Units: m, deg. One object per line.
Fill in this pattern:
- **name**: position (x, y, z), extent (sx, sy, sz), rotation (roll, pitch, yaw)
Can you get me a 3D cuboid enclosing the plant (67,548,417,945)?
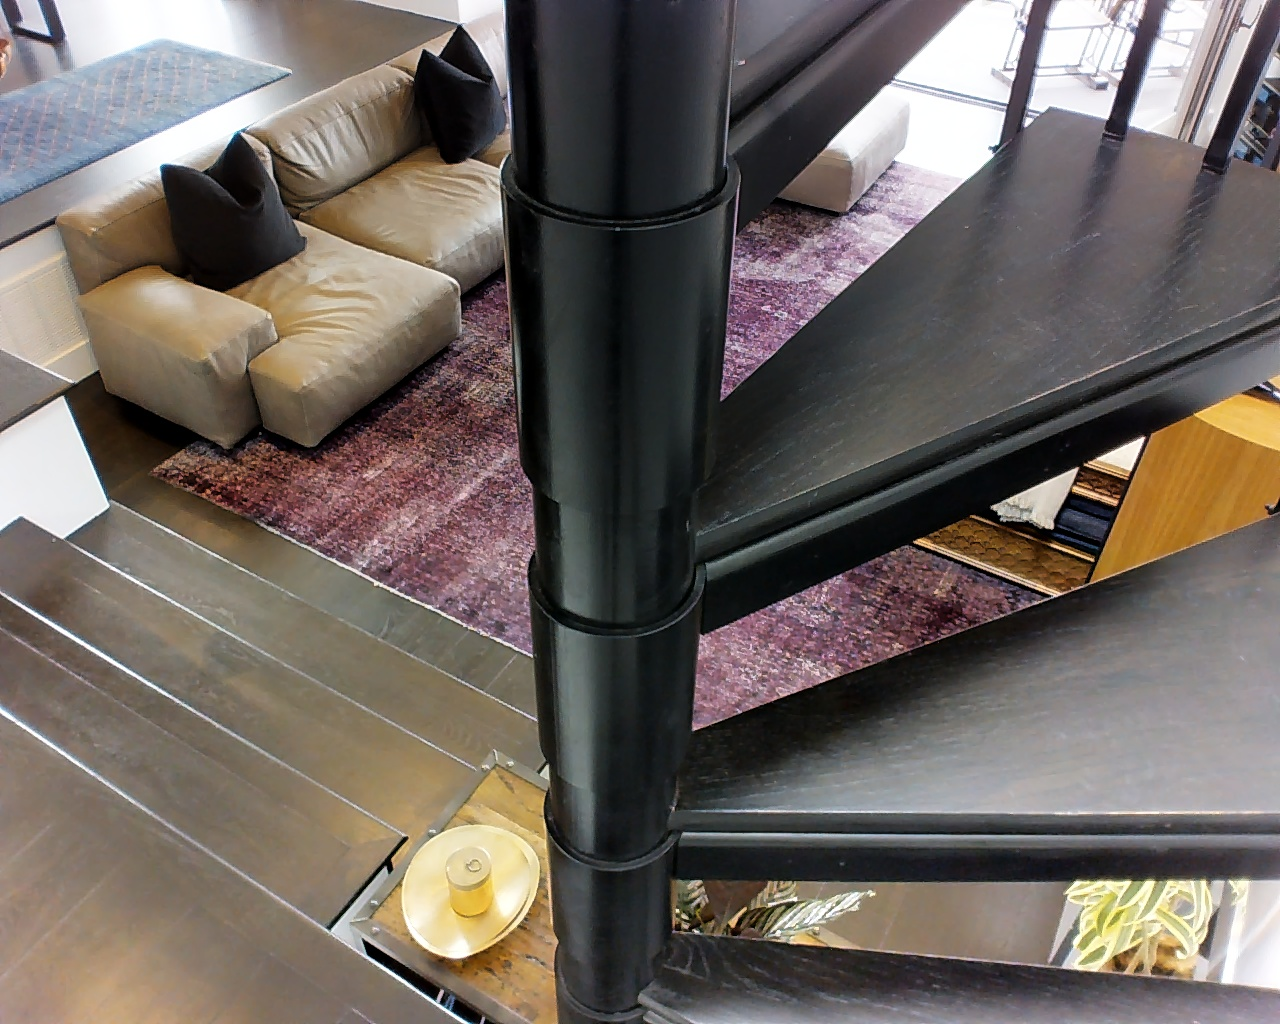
- **plant**: position (-0.850, 0.520, 2.390), extent (0.500, 0.650, 0.380), rotation (-25, 48, -26)
